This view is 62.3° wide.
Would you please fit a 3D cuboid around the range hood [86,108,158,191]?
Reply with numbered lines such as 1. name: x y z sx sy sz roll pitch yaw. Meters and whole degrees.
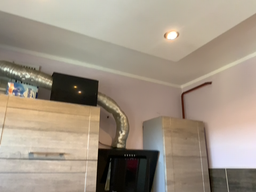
1. range hood: -0.040 0.490 1.720 0.490 0.680 0.260 11 -21 -29
